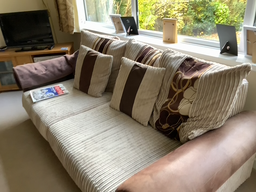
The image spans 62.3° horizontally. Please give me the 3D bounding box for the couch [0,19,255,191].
[{"bbox_3d":[-0.180,-0.020,1.760,1.140,0.880,2.180,-22,33,-32],"label":"couch"}]

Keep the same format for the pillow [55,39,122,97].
[{"bbox_3d":[-0.360,-0.260,1.930,0.480,0.440,0.180,26,71,46],"label":"pillow"}]
